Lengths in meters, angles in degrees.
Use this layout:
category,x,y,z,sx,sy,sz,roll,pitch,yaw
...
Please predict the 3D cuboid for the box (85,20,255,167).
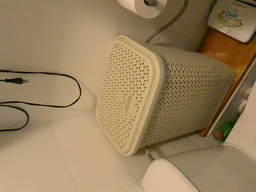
category,x,y,z,sx,sy,sz,roll,pitch,yaw
box,0.170,-0.020,0.900,0.280,0.560,0.430,46,128,42
